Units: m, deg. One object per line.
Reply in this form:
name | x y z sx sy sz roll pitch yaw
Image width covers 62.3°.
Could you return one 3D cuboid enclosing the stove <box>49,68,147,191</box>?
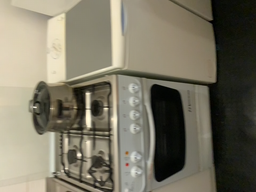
stove | -0.200 0.180 1.100 0.620 0.160 0.520 -8 82 47
